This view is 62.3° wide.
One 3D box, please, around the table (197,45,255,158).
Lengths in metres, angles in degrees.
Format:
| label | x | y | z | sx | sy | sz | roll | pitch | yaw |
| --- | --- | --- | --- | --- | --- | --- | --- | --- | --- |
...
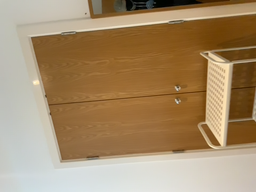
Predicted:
| label | x | y | z | sx | sy | sz | roll | pitch | yaw |
| --- | --- | --- | --- | --- | --- | --- | --- | --- | --- |
| table | 0.960 | 0.010 | 1.440 | 0.360 | 0.850 | 0.660 | -89 | -6 | -68 |
